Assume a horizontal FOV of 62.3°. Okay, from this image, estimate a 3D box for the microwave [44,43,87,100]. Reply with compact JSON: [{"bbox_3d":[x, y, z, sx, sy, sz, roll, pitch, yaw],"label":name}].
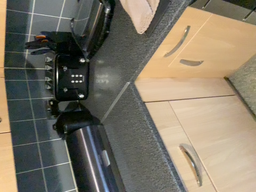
[{"bbox_3d":[-0.400,-0.150,1.340,0.270,0.180,0.310,8,100,56],"label":"microwave"}]
